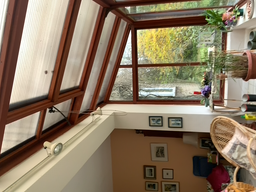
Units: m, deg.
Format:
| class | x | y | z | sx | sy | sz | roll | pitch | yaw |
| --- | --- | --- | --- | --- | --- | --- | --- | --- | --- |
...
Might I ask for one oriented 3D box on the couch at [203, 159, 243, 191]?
| class | x | y | z | sx | sy | sz | roll | pitch | yaw |
| --- | --- | --- | --- | --- | --- | --- | --- | --- | --- |
| couch | 1.790 | 1.620 | 4.080 | 0.510 | 0.570 | 0.540 | -69 | -24 | -57 |
